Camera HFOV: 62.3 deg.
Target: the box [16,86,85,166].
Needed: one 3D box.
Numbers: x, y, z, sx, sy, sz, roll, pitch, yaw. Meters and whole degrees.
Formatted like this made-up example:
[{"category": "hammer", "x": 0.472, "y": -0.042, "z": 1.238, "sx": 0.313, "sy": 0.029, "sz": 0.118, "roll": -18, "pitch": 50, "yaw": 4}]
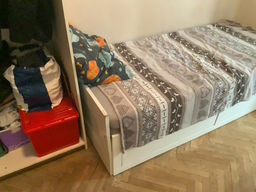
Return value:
[{"category": "box", "x": -0.570, "y": 0.210, "z": 1.590, "sx": 0.360, "sy": 0.380, "sz": 0.340, "roll": -17, "pitch": 41, "yaw": -24}]
